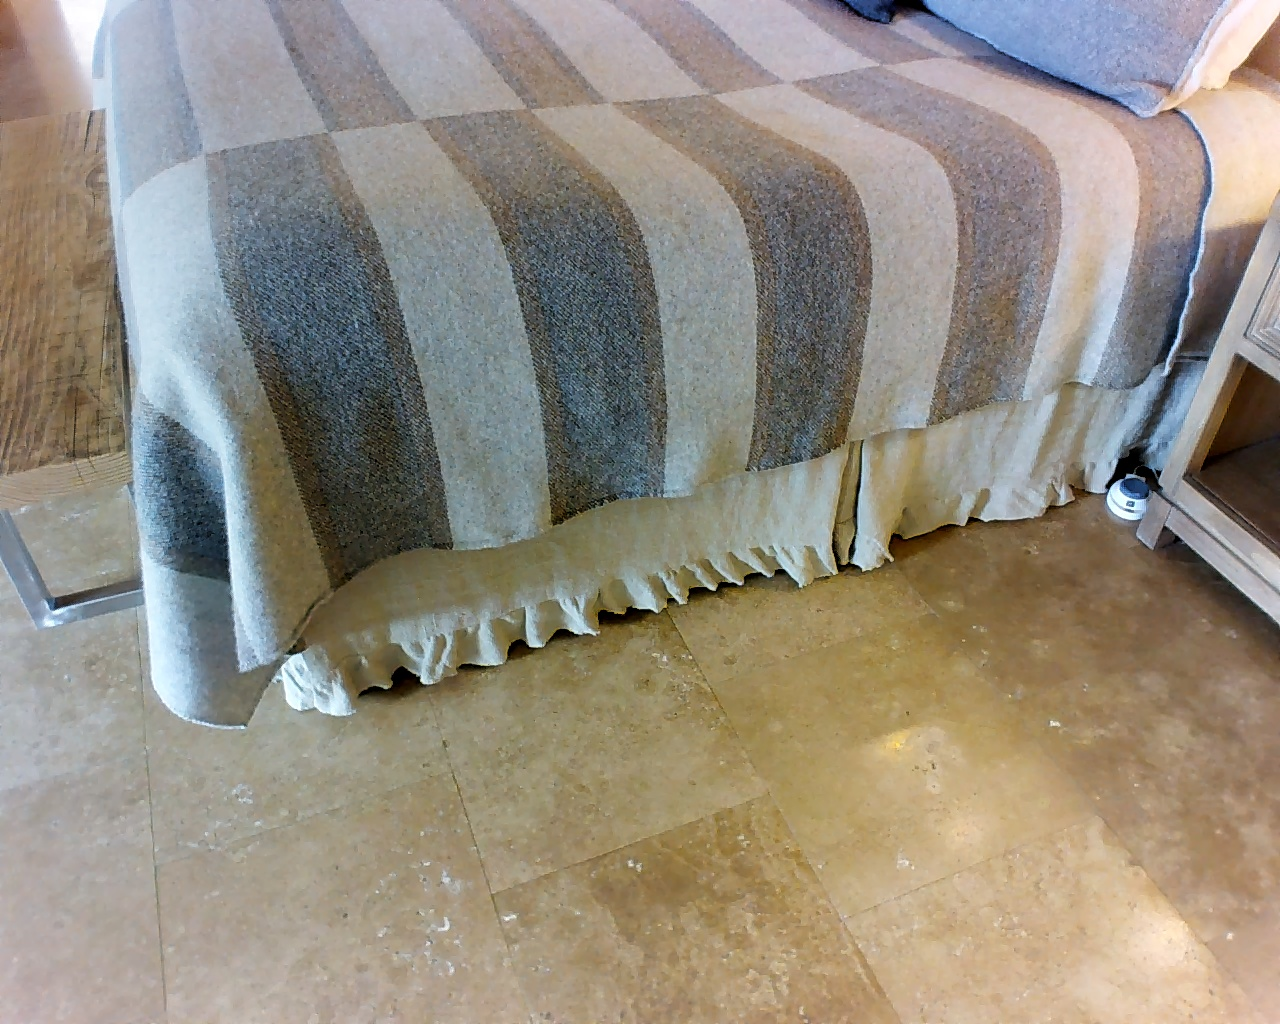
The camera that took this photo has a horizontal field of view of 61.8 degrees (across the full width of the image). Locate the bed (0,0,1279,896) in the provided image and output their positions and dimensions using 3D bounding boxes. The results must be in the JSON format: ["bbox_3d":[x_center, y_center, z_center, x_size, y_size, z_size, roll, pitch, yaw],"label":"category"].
[{"bbox_3d":[-0.110,-1.010,2.230,2.340,1.490,2.350,-16,43,-16],"label":"bed"}]
